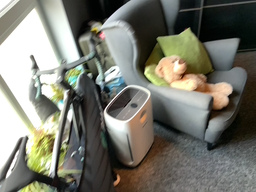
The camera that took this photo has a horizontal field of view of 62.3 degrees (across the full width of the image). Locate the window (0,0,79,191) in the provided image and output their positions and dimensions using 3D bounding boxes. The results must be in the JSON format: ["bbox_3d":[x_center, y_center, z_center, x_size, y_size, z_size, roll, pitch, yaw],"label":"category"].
[{"bbox_3d":[-0.690,-0.400,0.820,0.170,1.920,1.700,-4,43,5],"label":"window"}]

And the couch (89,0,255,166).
[{"bbox_3d":[0.410,-0.210,1.720,0.930,0.980,0.820,18,49,26],"label":"couch"}]
